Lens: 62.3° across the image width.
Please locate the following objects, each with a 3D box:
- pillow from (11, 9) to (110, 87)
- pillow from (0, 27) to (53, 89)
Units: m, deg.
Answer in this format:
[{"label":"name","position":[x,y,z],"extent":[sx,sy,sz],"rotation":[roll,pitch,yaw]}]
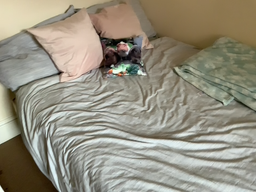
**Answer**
[{"label":"pillow","position":[-0.420,-0.340,1.370],"extent":[0.410,0.270,0.440],"rotation":[-28,46,-35]},{"label":"pillow","position":[-0.650,-0.240,1.250],"extent":[0.240,0.200,0.330],"rotation":[-28,46,-34]}]
